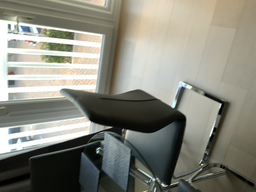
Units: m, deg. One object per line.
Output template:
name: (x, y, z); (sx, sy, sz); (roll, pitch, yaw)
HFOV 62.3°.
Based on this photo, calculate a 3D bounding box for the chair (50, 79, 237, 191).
chair: (0.130, 0.240, 1.300); (0.420, 1.030, 0.560); (32, 118, 45)

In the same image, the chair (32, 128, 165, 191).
chair: (-0.210, 0.610, 1.780); (0.470, 0.990, 0.420); (12, 103, 50)

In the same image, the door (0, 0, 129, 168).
door: (-0.940, -0.240, 1.900); (0.070, 2.090, 1.920); (28, 115, 46)
